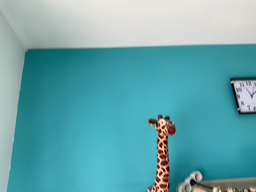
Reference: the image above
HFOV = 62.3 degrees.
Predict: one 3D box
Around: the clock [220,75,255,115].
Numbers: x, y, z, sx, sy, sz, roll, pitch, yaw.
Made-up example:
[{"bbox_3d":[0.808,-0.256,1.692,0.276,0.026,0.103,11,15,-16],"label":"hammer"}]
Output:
[{"bbox_3d":[0.770,-0.010,1.360,0.290,0.250,0.050,-1,-22,-8],"label":"clock"}]
